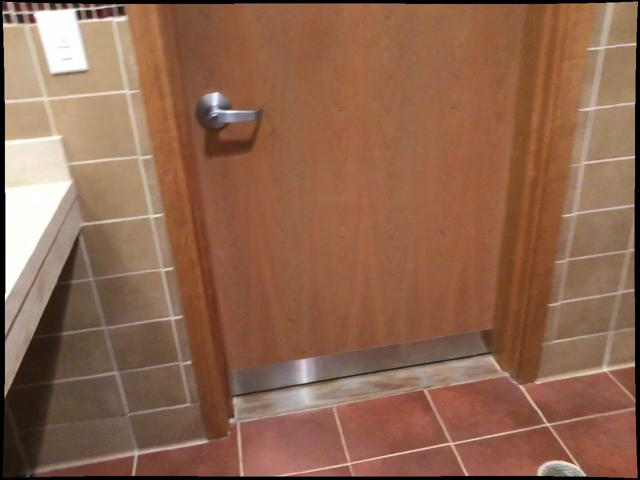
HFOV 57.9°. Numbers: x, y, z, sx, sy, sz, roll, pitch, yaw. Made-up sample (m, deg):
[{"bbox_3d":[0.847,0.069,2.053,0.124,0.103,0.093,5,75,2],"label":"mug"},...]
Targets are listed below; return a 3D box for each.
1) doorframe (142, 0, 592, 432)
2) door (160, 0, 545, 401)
[{"bbox_3d":[0.120,-0.470,1.390,0.989,2.102,0.220,-8,28,-6],"label":"doorframe"},{"bbox_3d":[0.100,-0.480,1.460,0.919,2.062,0.100,-8,28,-6],"label":"door"}]
